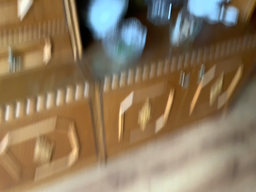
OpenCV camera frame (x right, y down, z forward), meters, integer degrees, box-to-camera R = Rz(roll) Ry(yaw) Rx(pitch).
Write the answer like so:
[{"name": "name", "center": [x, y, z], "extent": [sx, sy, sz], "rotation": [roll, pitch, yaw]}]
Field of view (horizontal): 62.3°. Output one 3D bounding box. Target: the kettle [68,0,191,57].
[{"name": "kettle", "center": [0.000, -0.380, 0.910], "extent": [0.460, 0.240, 0.230], "rotation": [-16, 51, -17]}]
